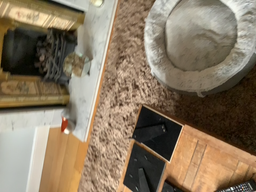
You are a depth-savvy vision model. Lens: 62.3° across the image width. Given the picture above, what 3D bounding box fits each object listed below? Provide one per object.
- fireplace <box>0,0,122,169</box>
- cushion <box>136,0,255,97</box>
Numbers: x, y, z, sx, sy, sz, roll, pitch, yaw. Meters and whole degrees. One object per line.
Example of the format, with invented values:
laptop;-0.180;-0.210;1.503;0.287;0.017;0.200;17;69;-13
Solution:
fireplace;-0.790;-0.280;1.510;0.640;1.140;1.350;25;107;36
cushion;0.350;-0.360;1.160;0.680;0.120;0.710;2;93;40
